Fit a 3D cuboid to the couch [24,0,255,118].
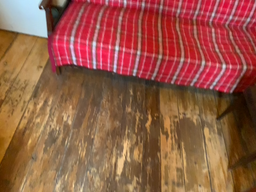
[{"bbox_3d":[0.430,-0.560,1.740,1.990,0.830,0.990,8,52,-3],"label":"couch"}]
